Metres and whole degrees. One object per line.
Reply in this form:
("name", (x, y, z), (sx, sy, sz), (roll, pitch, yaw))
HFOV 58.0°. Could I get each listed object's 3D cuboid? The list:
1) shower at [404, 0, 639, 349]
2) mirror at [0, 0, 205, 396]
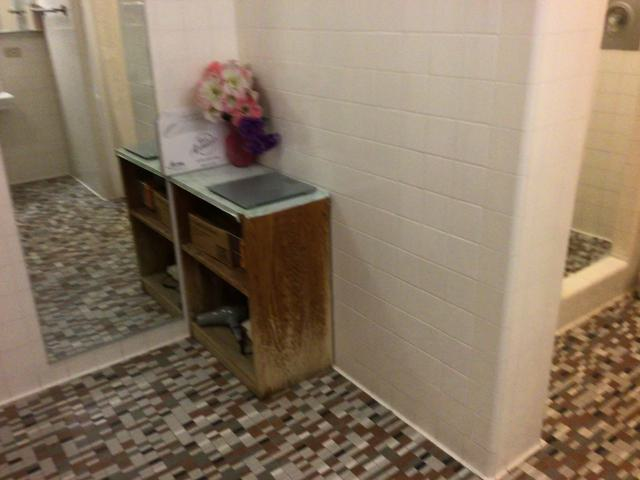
("shower", (1.190, -0.600, 2.770), (1.310, 1.680, 0.820), (-17, 27, -32))
("mirror", (-0.900, -0.170, 2.220), (0.730, 1.390, 0.230), (-17, 27, -32))
